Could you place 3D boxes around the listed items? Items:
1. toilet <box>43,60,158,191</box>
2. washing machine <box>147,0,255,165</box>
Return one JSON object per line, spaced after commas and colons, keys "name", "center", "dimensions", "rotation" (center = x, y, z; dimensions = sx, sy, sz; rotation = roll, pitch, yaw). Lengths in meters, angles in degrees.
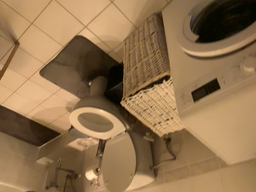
{"name": "toilet", "center": [-0.160, 0.280, 1.680], "dimensions": [0.410, 0.830, 0.650], "rotation": [-31, 131, 32]}
{"name": "washing machine", "center": [0.540, -0.250, 1.020], "dimensions": [0.630, 0.850, 0.580], "rotation": [-31, 131, 32]}
